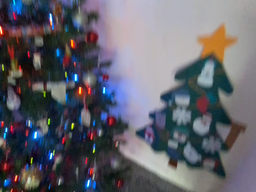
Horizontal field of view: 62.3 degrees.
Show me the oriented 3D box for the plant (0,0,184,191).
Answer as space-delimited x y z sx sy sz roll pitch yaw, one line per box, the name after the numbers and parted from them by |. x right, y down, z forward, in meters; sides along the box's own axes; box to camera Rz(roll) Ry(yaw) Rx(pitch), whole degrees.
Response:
-0.400 -0.120 0.990 0.880 1.710 0.930 25 40 21 | plant
